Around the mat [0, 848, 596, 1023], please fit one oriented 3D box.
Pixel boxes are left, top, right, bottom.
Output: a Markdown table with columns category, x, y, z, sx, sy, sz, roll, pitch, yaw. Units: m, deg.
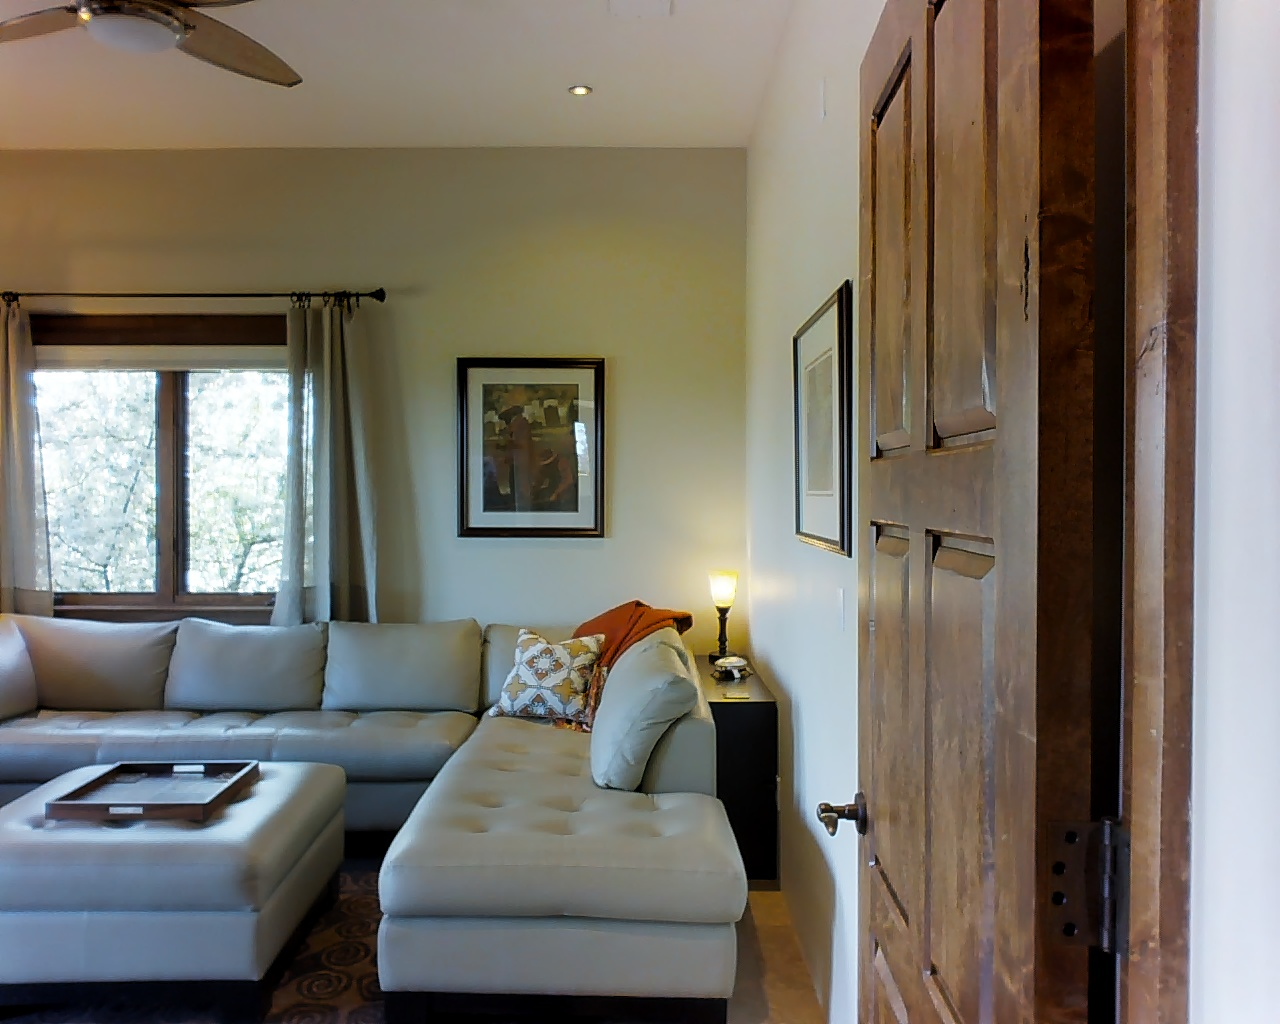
| category | x | y | z | sx | sy | sz | roll | pitch | yaw |
| --- | --- | --- | --- | --- | --- | --- | --- | --- | --- |
| mat | -1.860 | 1.360 | 3.170 | 3.399 | 0.070 | 2.020 | 0 | 1 | -1 |

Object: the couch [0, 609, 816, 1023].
| category | x | y | z | sx | sy | sz | roll | pitch | yaw |
| --- | --- | --- | --- | --- | --- | --- | --- | --- | --- |
| couch | -1.280 | 0.920 | 3.850 | 3.419 | 0.910 | 2.340 | 0 | 1 | -1 |

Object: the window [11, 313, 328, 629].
| category | x | y | z | sx | sy | sz | roll | pitch | yaw |
| --- | --- | --- | --- | --- | --- | --- | --- | --- | --- |
| window | -2.219 | -0.190 | 5.090 | 1.410 | 1.470 | 0.200 | 0 | 1 | 0 |
